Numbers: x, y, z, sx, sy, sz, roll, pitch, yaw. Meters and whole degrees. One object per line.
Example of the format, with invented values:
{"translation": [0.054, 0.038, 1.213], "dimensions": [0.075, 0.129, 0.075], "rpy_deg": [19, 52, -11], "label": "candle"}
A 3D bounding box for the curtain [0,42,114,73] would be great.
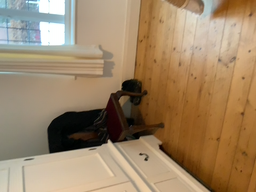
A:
{"translation": [-1.080, -0.350, 1.930], "dimensions": [0.140, 2.000, 0.260], "rpy_deg": [27, 117, 60], "label": "curtain"}

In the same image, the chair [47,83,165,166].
{"translation": [-0.260, 0.260, 2.190], "dimensions": [0.530, 1.020, 0.550], "rpy_deg": [67, 147, 35], "label": "chair"}
